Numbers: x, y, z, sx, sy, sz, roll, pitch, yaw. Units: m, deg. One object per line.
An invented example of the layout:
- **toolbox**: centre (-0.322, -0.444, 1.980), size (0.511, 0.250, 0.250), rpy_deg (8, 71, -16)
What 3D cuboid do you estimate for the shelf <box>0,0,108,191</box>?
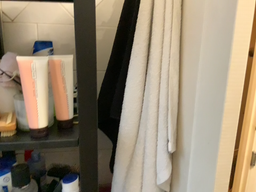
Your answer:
- **shelf**: centre (-0.300, 0.480, 0.750), size (0.400, 1.720, 0.490), rpy_deg (-1, 13, -10)
